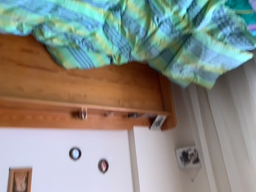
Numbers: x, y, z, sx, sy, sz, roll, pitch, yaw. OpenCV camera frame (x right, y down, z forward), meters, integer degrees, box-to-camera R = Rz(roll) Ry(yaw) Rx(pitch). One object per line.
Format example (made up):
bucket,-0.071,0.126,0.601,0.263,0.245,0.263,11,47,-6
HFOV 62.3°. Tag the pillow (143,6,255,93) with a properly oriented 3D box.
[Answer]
pillow,0.470,-0.230,1.370,0.420,0.190,0.640,7,158,-34
